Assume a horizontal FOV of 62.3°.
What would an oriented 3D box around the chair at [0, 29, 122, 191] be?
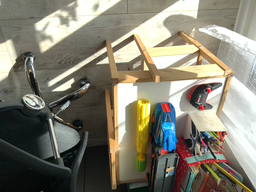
[{"bbox_3d":[-0.470,0.280,0.900,0.570,0.990,0.630,29,114,-25],"label":"chair"}]
